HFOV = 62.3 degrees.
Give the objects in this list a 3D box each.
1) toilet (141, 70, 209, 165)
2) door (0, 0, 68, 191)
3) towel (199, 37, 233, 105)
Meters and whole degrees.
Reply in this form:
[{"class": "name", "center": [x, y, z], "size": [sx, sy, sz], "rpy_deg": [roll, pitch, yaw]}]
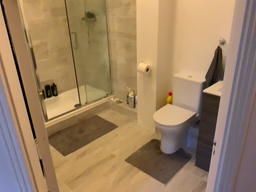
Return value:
[{"class": "toilet", "center": [0.490, 0.190, 2.270], "size": [0.600, 0.770, 0.380], "rpy_deg": [-22, 32, -40]}, {"class": "door", "center": [-0.550, 0.030, 1.180], "size": [0.100, 2.020, 0.890], "rpy_deg": [-15, 27, -27]}, {"class": "towel", "center": [0.830, -0.240, 2.010], "size": [0.140, 0.580, 0.240], "rpy_deg": [20, 32, 39]}]
